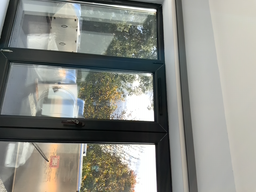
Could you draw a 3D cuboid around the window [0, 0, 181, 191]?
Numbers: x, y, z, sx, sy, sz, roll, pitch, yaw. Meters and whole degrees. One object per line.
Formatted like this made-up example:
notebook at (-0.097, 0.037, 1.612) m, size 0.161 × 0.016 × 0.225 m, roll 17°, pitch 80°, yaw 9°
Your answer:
window at (-0.340, 0.250, 1.490) m, size 0.080 × 1.400 × 2.380 m, roll 115°, pitch -23°, yaw -67°
